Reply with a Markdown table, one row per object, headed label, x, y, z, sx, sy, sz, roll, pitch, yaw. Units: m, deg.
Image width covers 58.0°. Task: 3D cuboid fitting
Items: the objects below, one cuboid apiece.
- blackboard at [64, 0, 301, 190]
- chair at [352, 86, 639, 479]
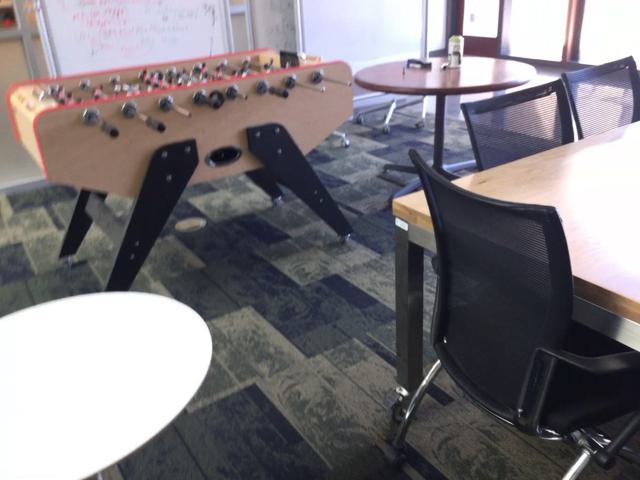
| label | x | y | z | sx | sy | sz | roll | pitch | yaw |
| --- | --- | --- | --- | --- | --- | --- | --- | --- | --- |
| blackboard | -0.940 | -1.380 | 4.080 | 1.410 | 1.730 | 0.280 | -19 | 26 | -23 |
| chair | 0.550 | 0.220 | 1.380 | 0.640 | 0.990 | 0.590 | -18 | 26 | -22 |
